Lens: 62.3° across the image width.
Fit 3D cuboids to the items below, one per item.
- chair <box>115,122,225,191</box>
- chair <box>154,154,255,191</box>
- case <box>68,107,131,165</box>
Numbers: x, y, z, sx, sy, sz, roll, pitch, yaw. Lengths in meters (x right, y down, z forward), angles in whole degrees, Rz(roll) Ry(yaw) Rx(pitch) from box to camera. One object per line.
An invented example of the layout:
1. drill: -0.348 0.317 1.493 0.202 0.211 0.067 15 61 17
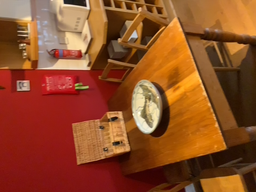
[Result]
1. chair: 0.360 0.530 1.840 0.370 0.790 0.410 -41 59 57
2. chair: 0.640 0.660 1.310 0.370 0.790 0.430 -41 59 57
3. case: -0.250 0.330 1.790 0.210 0.420 0.390 -43 56 56
